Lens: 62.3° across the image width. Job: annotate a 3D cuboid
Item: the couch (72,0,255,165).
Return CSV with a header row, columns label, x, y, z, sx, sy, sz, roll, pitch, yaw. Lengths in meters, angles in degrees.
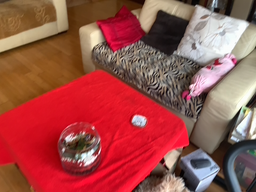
label,x,y,z,sx,sy,sz,roll,pitch,yaw
couch,0.370,-0.330,1.960,1.480,0.730,0.950,32,47,29
